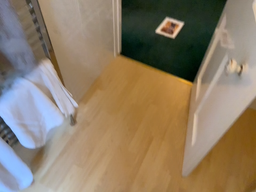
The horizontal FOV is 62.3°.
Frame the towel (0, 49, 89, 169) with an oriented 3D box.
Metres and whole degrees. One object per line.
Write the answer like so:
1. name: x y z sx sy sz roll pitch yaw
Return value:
1. towel: -0.400 0.080 1.050 0.180 0.450 0.370 25 56 16
